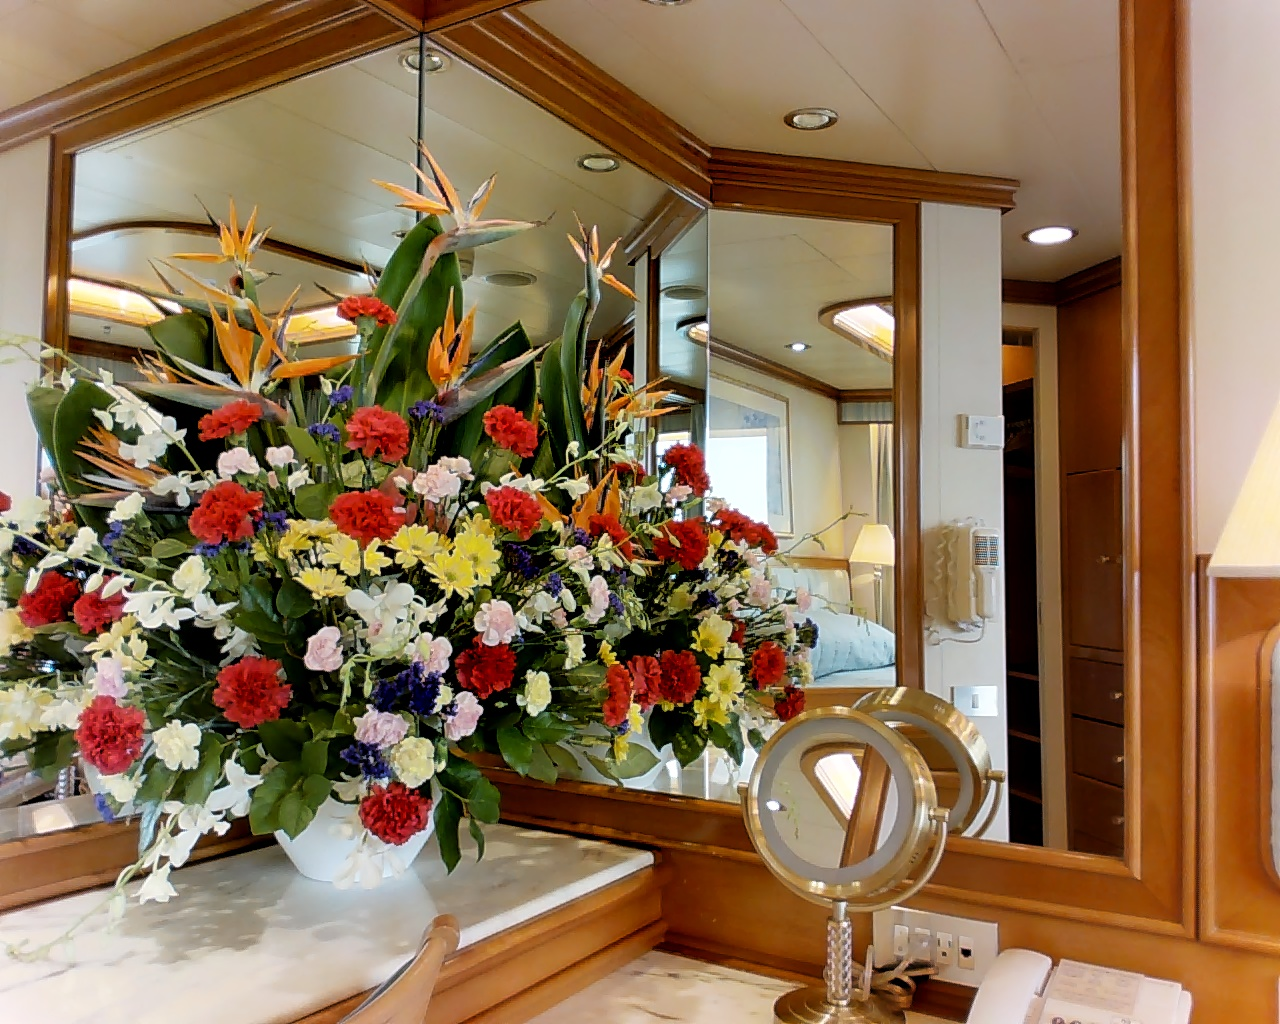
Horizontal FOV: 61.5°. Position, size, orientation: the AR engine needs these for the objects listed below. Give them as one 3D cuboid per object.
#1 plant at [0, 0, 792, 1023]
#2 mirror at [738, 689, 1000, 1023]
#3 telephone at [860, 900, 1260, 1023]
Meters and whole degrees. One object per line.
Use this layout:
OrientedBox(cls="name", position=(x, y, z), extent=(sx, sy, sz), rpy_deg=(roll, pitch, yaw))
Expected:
OrientedBox(cls="plant", position=(-0.290, -0.050, 1.300), extent=(0.660, 0.950, 0.780), rpy_deg=(-1, -2, 34))
OrientedBox(cls="mirror", position=(0.260, 0.390, 1.220), extent=(0.250, 0.340, 0.160), rpy_deg=(-1, -2, 33))
OrientedBox(cls="telephone", position=(0.420, 0.500, 1.070), extent=(0.330, 0.100, 0.240), rpy_deg=(-1, -2, 33))
